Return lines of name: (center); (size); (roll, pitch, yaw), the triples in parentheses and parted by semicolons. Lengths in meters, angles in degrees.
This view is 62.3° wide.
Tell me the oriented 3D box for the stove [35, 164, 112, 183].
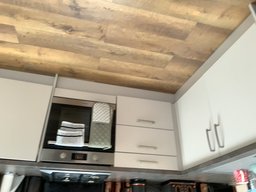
stove: (-0.500, 0.730, 1.960); (0.610, 0.050, 0.550); (8, 149, -14)
